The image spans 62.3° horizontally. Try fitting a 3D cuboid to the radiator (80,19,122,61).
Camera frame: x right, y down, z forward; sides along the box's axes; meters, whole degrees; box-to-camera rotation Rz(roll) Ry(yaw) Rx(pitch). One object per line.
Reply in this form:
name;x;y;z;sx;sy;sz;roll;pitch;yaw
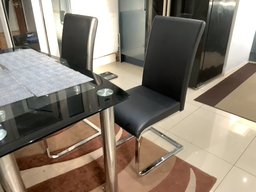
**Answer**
radiator;-0.410;-0.920;3.420;0.200;0.530;0.660;23;35;37
